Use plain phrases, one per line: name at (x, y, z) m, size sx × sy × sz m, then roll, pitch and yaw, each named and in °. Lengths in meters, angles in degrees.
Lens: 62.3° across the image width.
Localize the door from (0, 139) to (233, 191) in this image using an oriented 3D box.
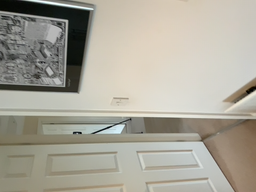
door at (-0.110, 0.680, 1.730) m, size 0.830 × 1.970 × 0.090 m, roll -110°, pitch 28°, yaw -54°
